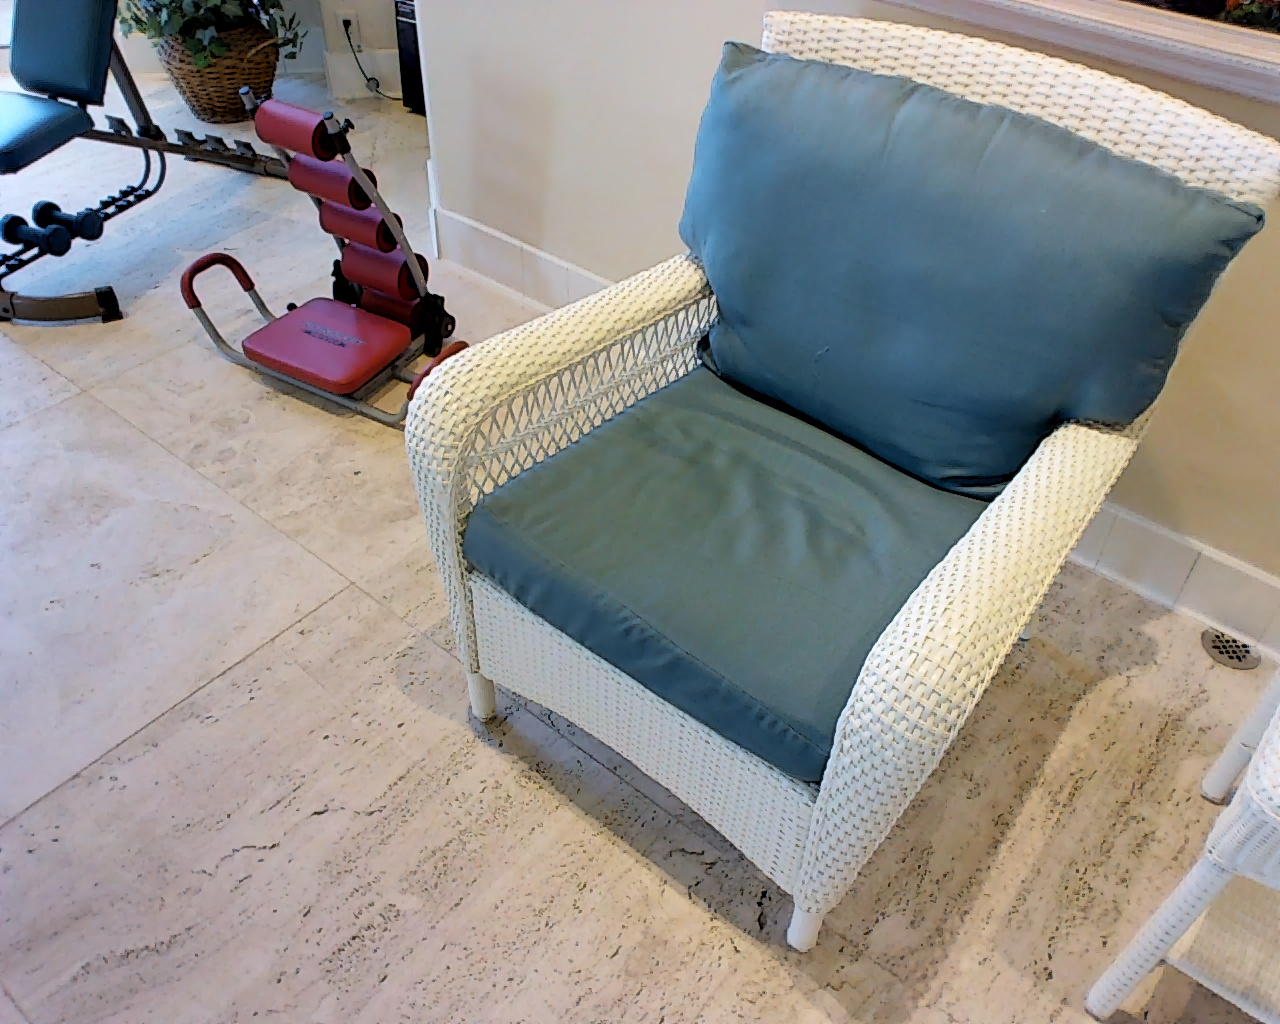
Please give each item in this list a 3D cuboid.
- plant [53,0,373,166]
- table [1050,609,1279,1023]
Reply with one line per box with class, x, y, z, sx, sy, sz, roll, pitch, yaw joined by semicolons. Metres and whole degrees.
plant;-1.390;-1.730;3.370;0.630;0.900;0.700;29;49;27
table;0.960;0.450;1.270;0.580;0.580;0.550;30;50;28
